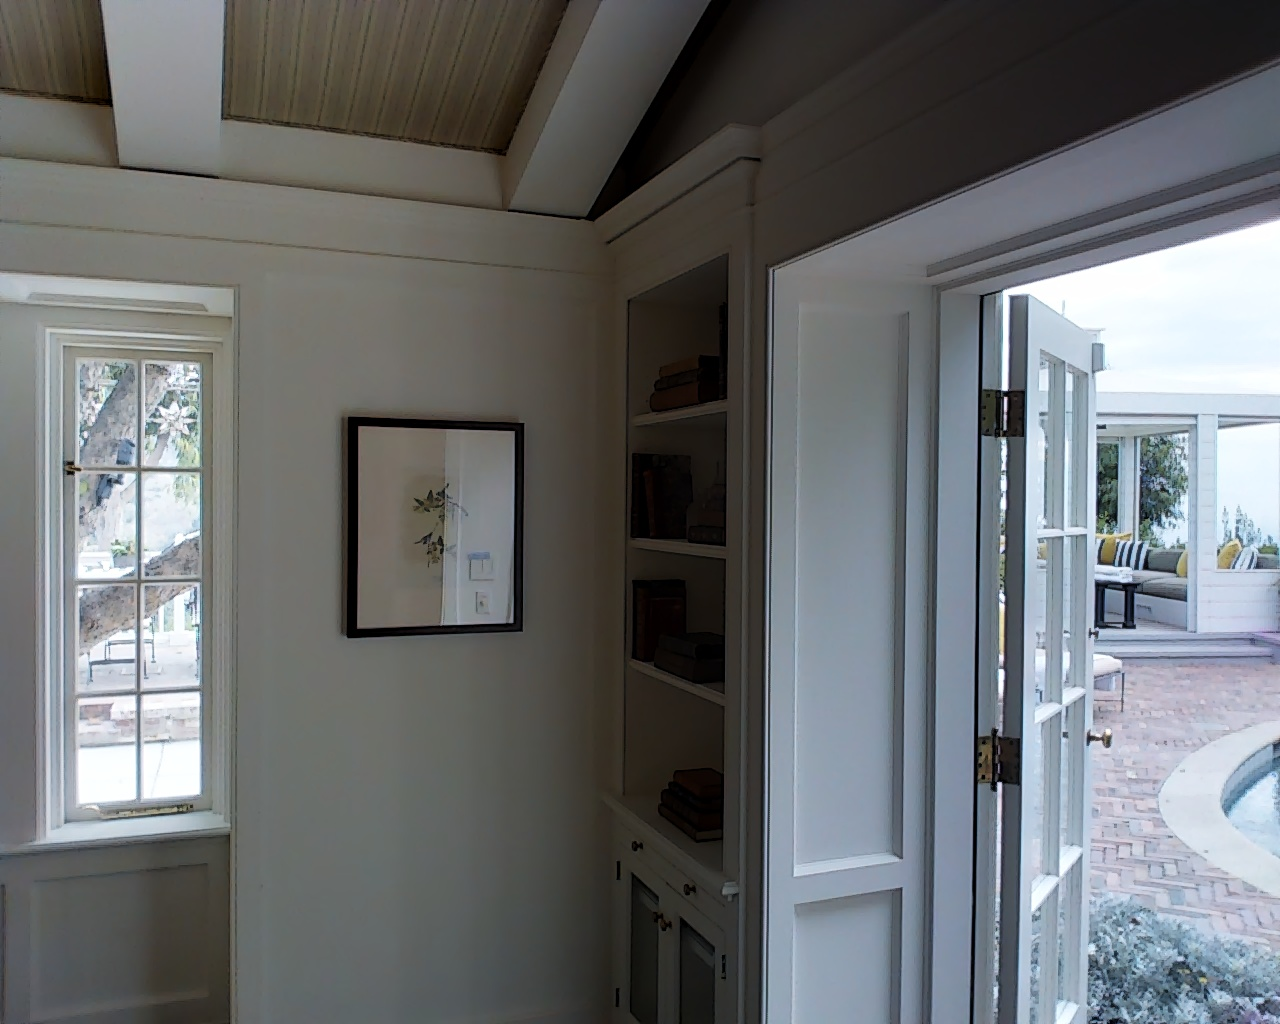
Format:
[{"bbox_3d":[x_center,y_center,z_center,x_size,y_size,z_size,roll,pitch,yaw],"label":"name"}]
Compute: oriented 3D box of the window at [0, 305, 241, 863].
[{"bbox_3d":[-2.110,0.180,2.630,2.120,1.410,0.200,0,1,-22],"label":"window"}]
